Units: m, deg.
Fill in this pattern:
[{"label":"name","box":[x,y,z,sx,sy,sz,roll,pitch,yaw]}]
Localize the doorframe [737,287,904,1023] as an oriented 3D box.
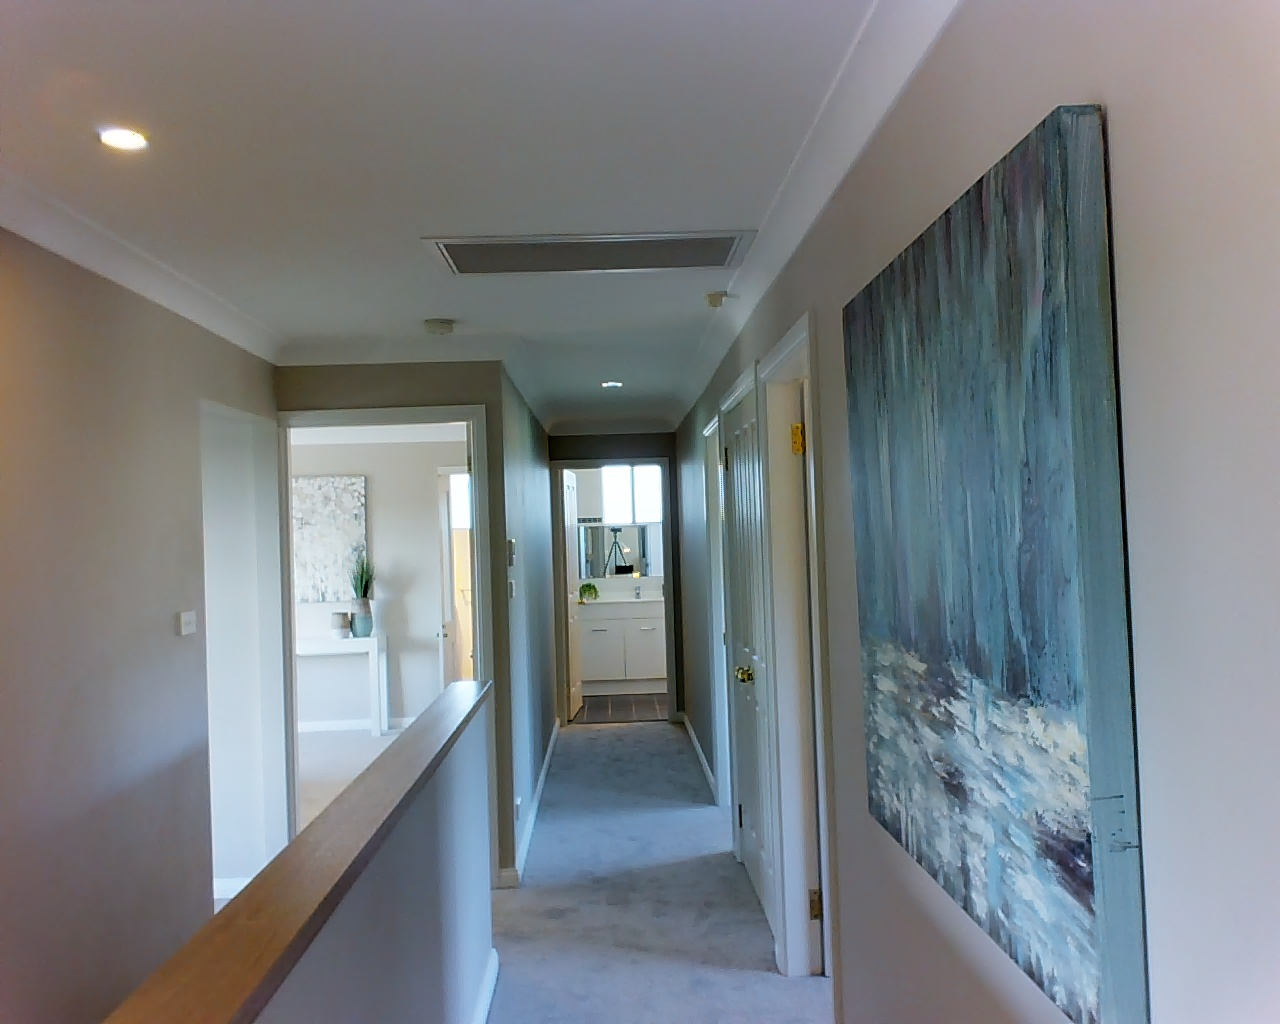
[{"label":"doorframe","box":[0.500,0.500,3.180,0.210,2.101,1.060,-2,-1,-2]}]
